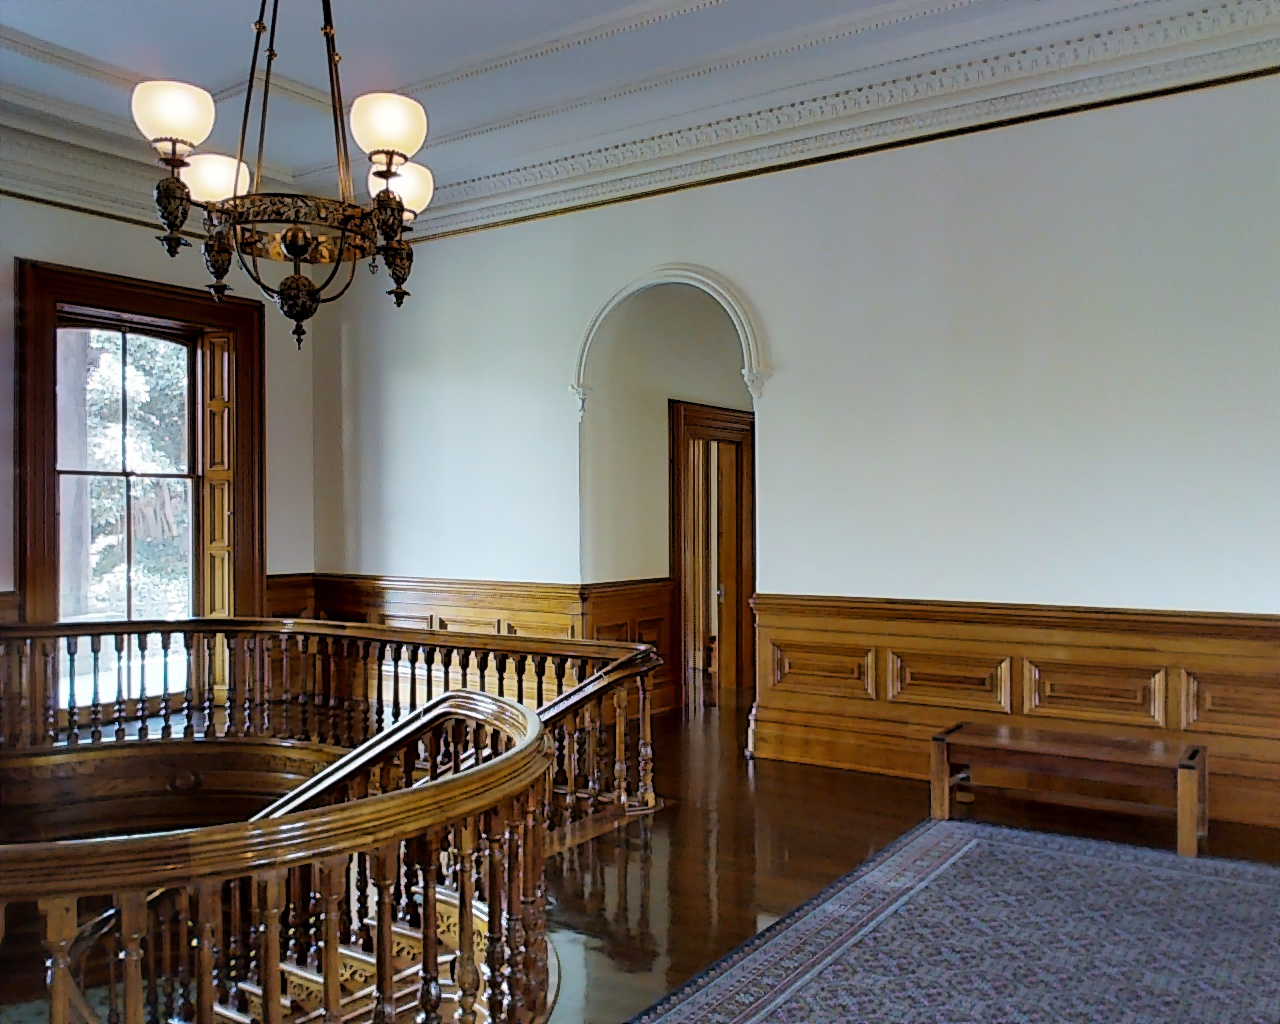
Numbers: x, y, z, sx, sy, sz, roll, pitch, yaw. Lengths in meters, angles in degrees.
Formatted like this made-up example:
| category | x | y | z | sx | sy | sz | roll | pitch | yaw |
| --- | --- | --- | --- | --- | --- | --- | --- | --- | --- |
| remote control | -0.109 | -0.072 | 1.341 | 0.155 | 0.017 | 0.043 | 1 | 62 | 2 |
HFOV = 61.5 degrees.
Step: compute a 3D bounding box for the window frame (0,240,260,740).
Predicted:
| category | x | y | z | sx | sy | sz | roll | pitch | yaw |
| --- | --- | --- | --- | --- | --- | --- | --- | --- | --- |
| window frame | -3.939 | -0.150 | 8.380 | 0.460 | 3.460 | 1.950 | 0 | 0 | 34 |
